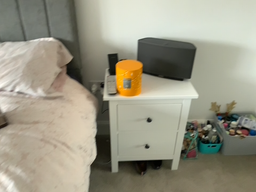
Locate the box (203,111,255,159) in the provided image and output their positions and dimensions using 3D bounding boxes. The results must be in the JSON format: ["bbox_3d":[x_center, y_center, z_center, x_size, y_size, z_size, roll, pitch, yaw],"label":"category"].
[{"bbox_3d":[0.880,0.310,1.710,0.410,0.220,0.310,2,32,1],"label":"box"}]
